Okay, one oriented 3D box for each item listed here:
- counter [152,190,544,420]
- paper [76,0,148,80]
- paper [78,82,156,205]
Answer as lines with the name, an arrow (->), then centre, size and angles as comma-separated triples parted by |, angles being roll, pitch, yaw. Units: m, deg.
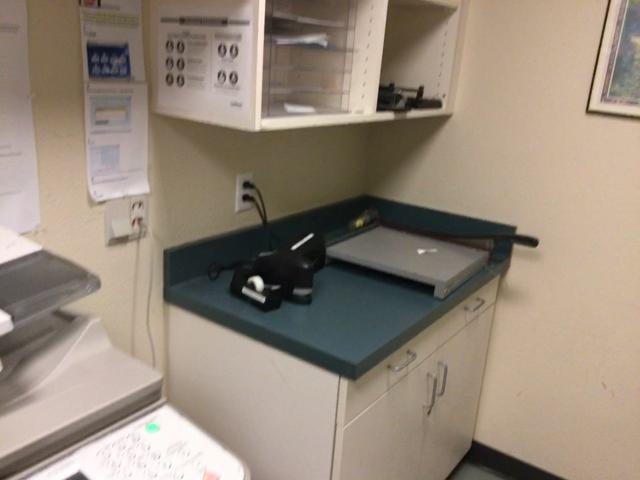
counter -> 0.150, 0.080, 1.710 | 0.690, 0.220, 1.030 | 13, 19, 34
paper -> -0.440, -0.440, 1.230 | 0.020, 0.190, 0.150 | 13, 19, 34
paper -> -0.450, -0.220, 1.300 | 0.030, 0.260, 0.160 | 13, 19, 34
